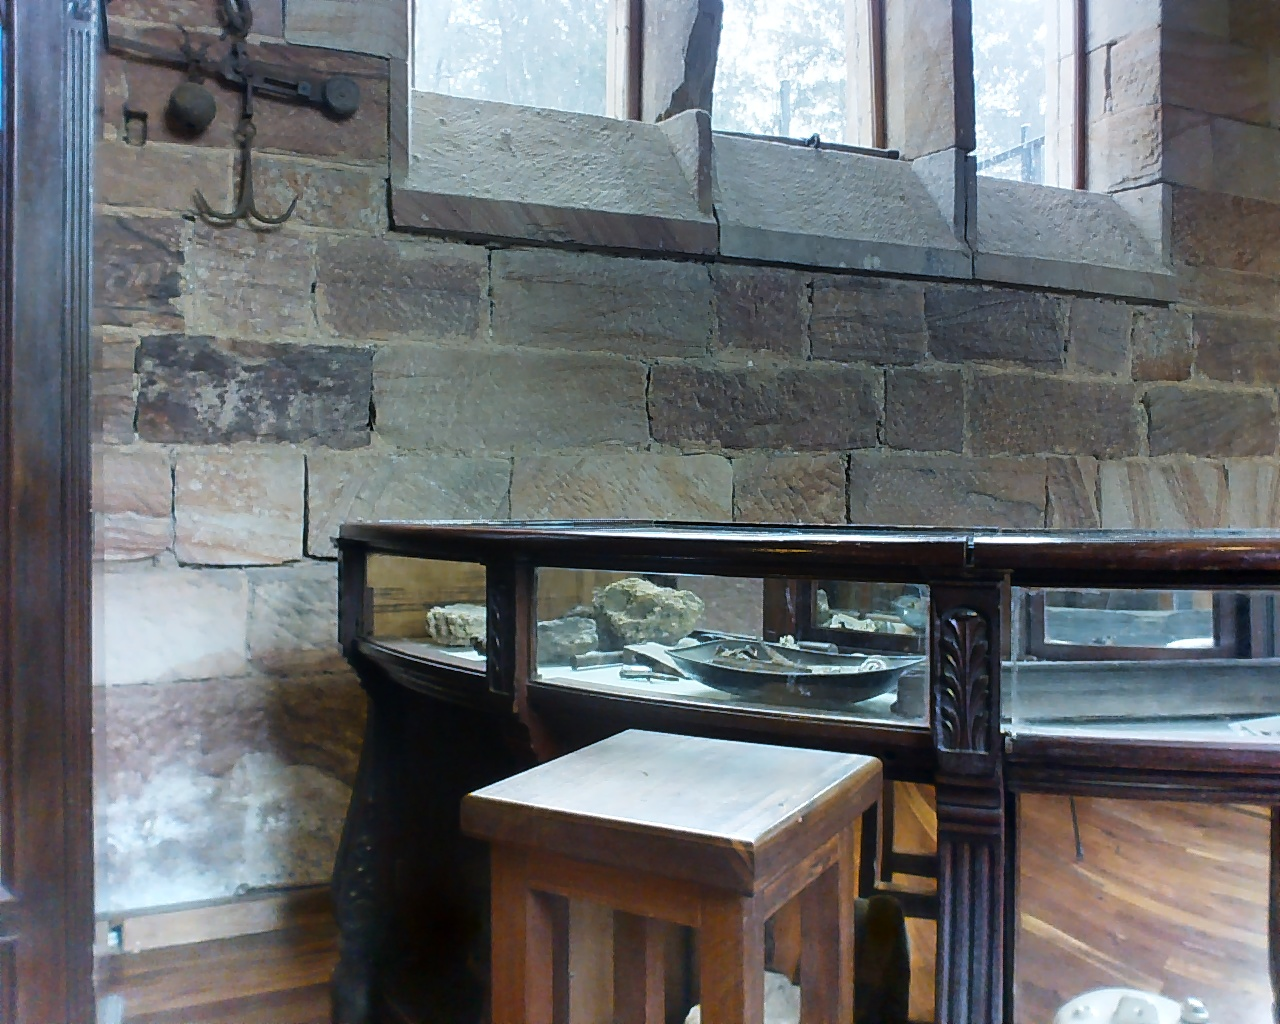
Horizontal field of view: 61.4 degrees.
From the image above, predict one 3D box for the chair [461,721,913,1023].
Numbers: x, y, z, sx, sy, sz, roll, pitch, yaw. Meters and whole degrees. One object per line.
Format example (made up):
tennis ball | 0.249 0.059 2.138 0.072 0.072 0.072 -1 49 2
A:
chair | 0.070 0.700 1.220 0.360 0.820 0.400 0 1 32
